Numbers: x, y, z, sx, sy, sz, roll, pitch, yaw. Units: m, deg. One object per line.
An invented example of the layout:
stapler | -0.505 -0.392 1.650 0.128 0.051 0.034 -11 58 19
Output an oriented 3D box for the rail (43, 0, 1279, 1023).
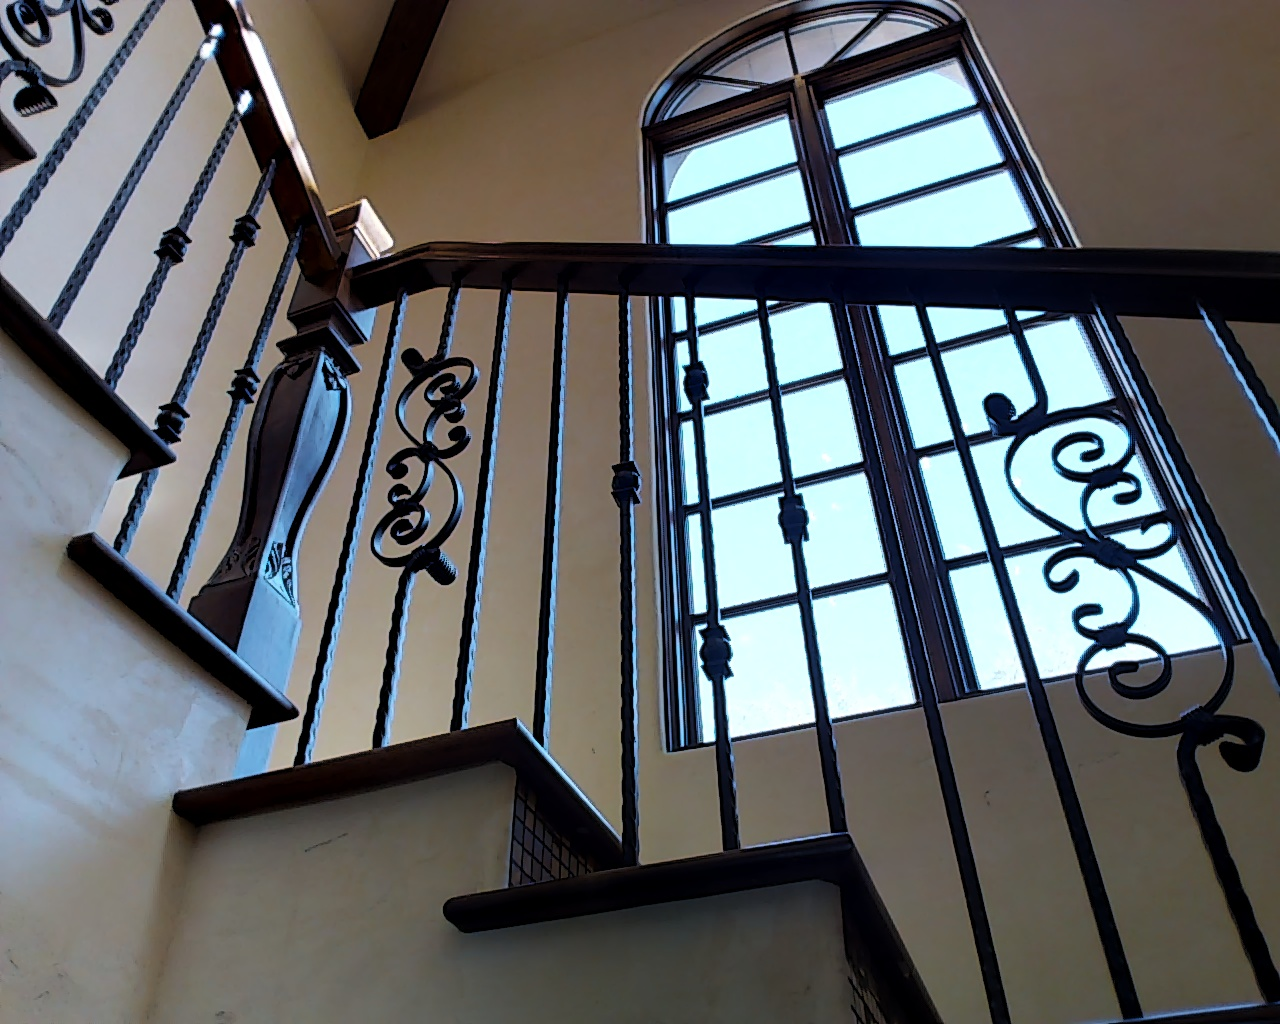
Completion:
rail | 0.260 -0.050 1.230 1.840 1.940 0.060 -14 -43 14
